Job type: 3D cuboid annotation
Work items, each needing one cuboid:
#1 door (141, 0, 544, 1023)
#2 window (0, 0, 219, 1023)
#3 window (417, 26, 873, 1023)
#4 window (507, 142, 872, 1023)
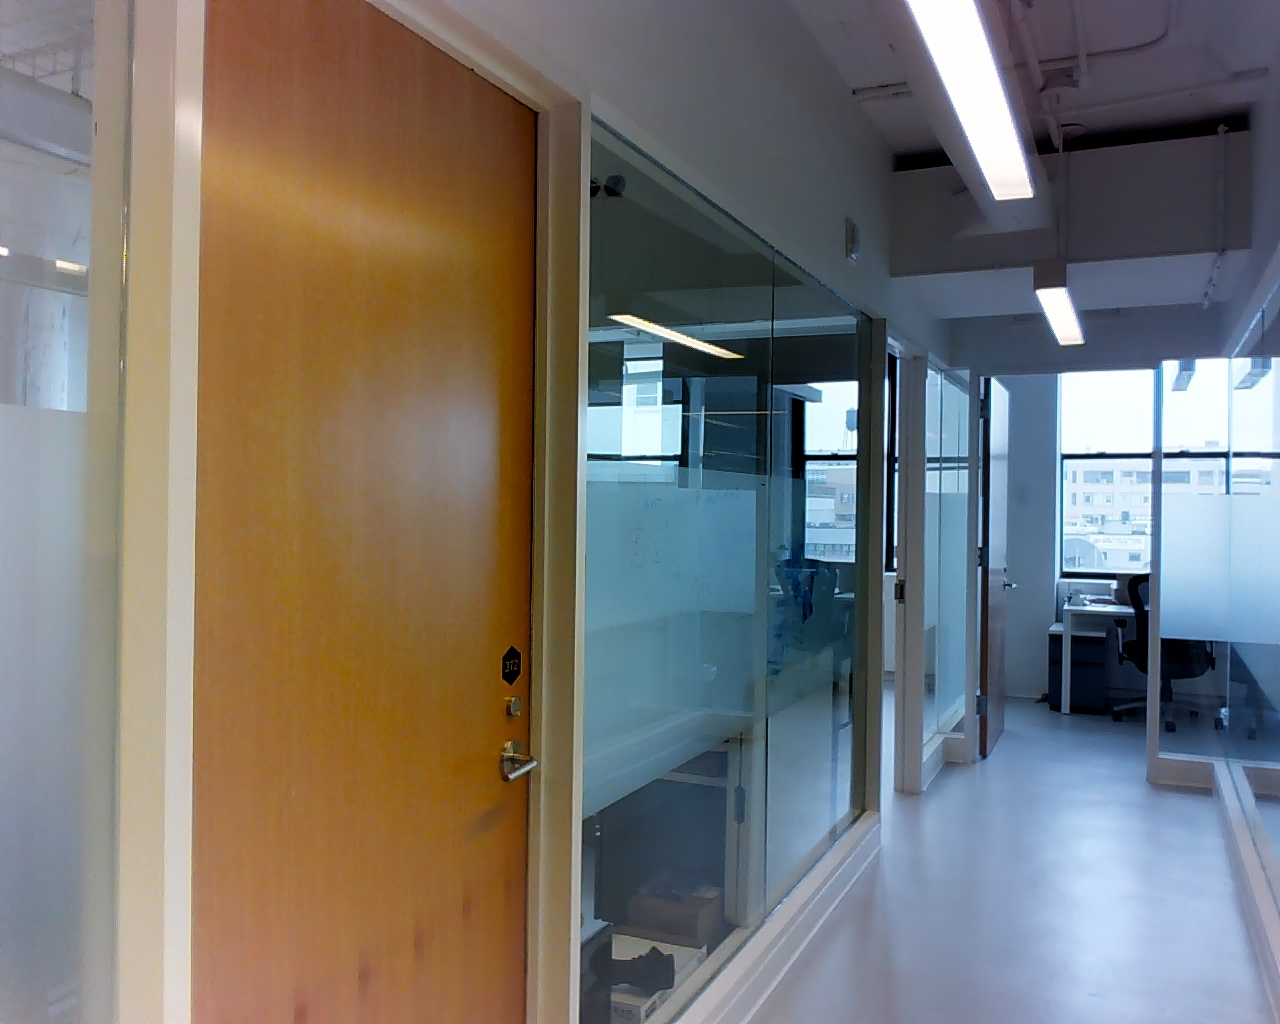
[{"bbox_3d":[-0.400,0.340,1.690,0.040,2.180,0.880,1,0,25],"label":"door"},{"bbox_3d":[-0.690,0.300,1.150,0.270,2.250,0.330,1,0,25],"label":"window"},{"bbox_3d":[0.270,0.250,3.420,0.310,2.381,2.790,1,0,25],"label":"window"},{"bbox_3d":[0.360,0.300,3.390,0.130,2.060,2.710,1,0,25],"label":"window"}]
